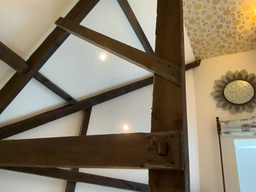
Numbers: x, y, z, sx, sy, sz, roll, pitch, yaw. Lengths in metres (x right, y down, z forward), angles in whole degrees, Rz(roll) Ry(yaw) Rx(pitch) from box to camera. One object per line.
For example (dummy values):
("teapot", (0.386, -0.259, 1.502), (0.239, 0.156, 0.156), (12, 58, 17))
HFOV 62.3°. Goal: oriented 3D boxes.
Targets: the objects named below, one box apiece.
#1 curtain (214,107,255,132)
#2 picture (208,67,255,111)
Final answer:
("curtain", (2.370, 0.300, 3.140), (0.130, 2.010, 0.330), (48, -139, -52))
("picture", (1.910, -0.120, 3.750), (0.020, 0.860, 0.750), (45, -136, -54))
